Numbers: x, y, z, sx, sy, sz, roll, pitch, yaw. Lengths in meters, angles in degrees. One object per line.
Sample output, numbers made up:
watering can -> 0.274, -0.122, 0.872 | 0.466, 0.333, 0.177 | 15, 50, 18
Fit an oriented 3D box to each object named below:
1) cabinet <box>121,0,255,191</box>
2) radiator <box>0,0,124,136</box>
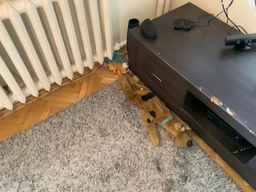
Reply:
cabinet -> 0.690, 0.020, 1.270 | 0.670, 0.420, 1.550 | -31, 59, -22
radiator -> -0.700, -0.160, 1.190 | 1.510, 0.700, 0.270 | -33, 59, -22
